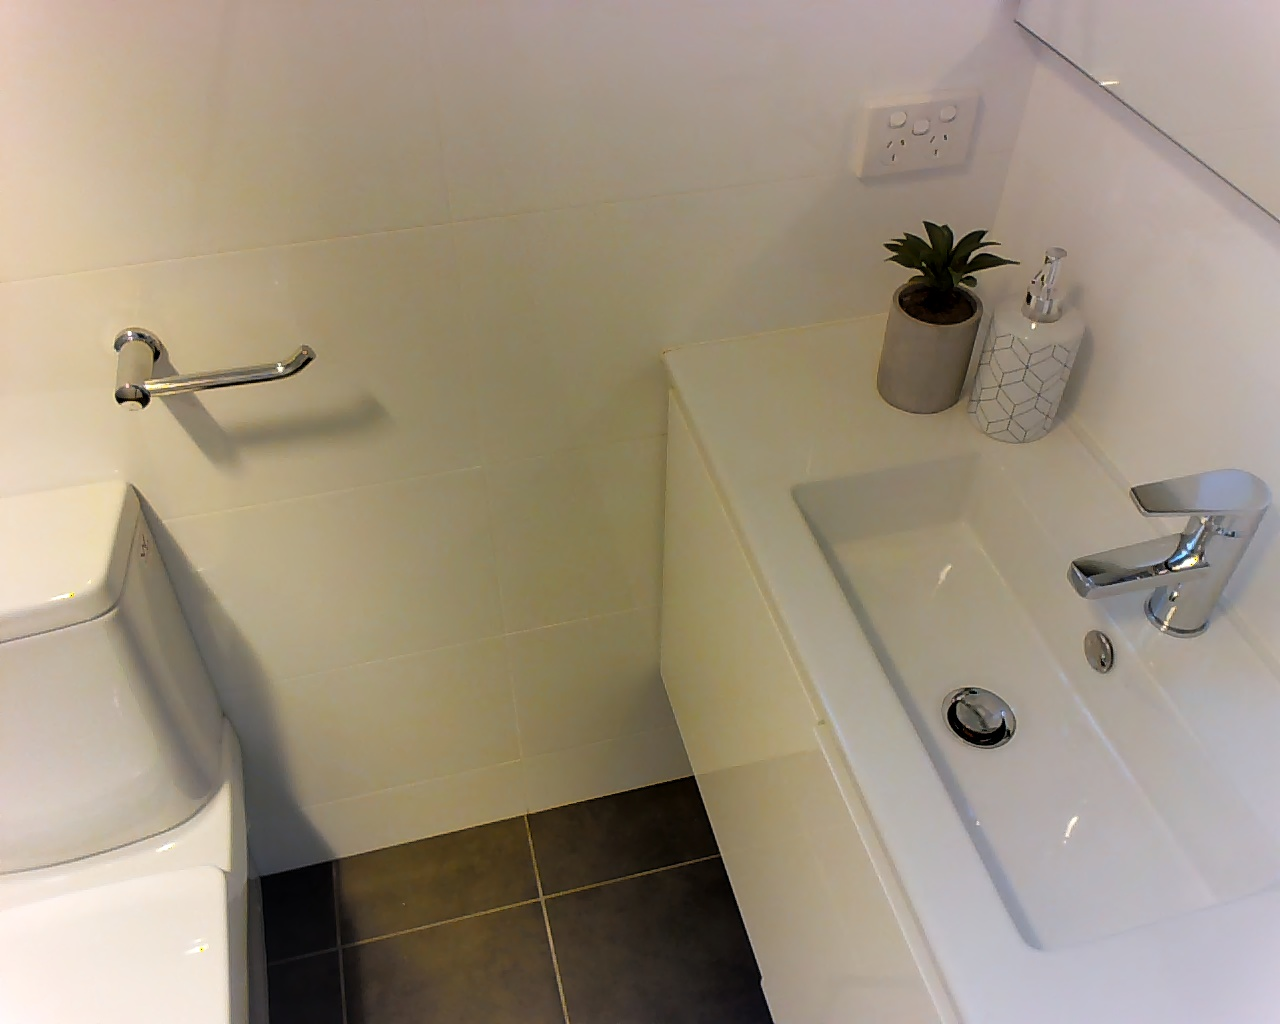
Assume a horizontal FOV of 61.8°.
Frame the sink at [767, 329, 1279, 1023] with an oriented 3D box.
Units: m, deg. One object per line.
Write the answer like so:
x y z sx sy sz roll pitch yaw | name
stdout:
0.340 0.100 0.860 0.320 0.220 0.470 -10 46 -10 | sink

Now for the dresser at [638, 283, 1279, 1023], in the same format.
0.320 0.320 1.050 0.420 0.620 0.930 -11 46 -10 | dresser

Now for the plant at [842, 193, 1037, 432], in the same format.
0.280 -0.190 1.030 0.110 0.180 0.110 -12 46 -12 | plant
